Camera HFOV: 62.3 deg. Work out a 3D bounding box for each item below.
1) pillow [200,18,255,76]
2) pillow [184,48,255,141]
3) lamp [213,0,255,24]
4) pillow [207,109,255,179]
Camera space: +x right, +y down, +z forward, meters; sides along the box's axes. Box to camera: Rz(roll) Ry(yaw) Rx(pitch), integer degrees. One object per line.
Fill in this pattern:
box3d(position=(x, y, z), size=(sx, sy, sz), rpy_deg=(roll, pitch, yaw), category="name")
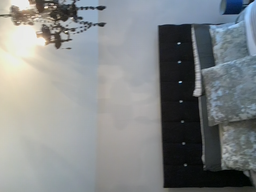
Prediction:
box3d(position=(0.830, -0.410, 1.770), size=(0.150, 0.280, 0.410), rpy_deg=(136, 119, -72), category="pillow")
box3d(position=(0.770, -0.030, 1.610), size=(0.530, 0.490, 0.160), rpy_deg=(57, 147, 3), category="pillow")
box3d(position=(1.030, -0.850, 2.030), size=(0.270, 0.320, 0.210), rpy_deg=(85, -175, -82), category="lamp")
box3d(position=(0.830, 0.360, 1.640), size=(0.120, 0.290, 0.420), rpy_deg=(-21, 95, 62), category="pillow")
